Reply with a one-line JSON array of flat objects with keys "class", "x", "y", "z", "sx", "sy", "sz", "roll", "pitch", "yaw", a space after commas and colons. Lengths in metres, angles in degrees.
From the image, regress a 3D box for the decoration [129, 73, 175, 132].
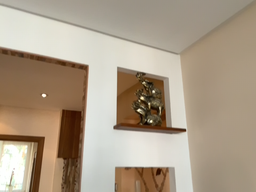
[{"class": "decoration", "x": 0.160, "y": 0.050, "z": 1.440, "sx": 0.280, "sy": 0.350, "sz": 0.120, "roll": 9, "pitch": -20, "yaw": -24}]
